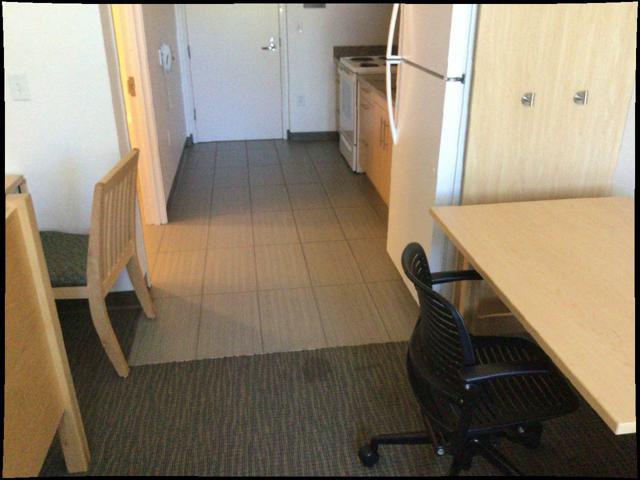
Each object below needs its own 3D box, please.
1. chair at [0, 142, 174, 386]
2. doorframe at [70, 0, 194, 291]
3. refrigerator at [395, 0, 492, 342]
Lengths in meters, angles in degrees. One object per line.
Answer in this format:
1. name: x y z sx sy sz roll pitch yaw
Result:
1. chair: -1.079 0.080 2.570 0.629 0.861 0.620 -4 24 -3
2. doorframe: -1.029 -0.891 3.270 0.220 2.082 1.070 -4 24 -3
3. refrigerator: 0.509 -0.450 2.600 0.190 1.651 0.740 -4 24 -3
